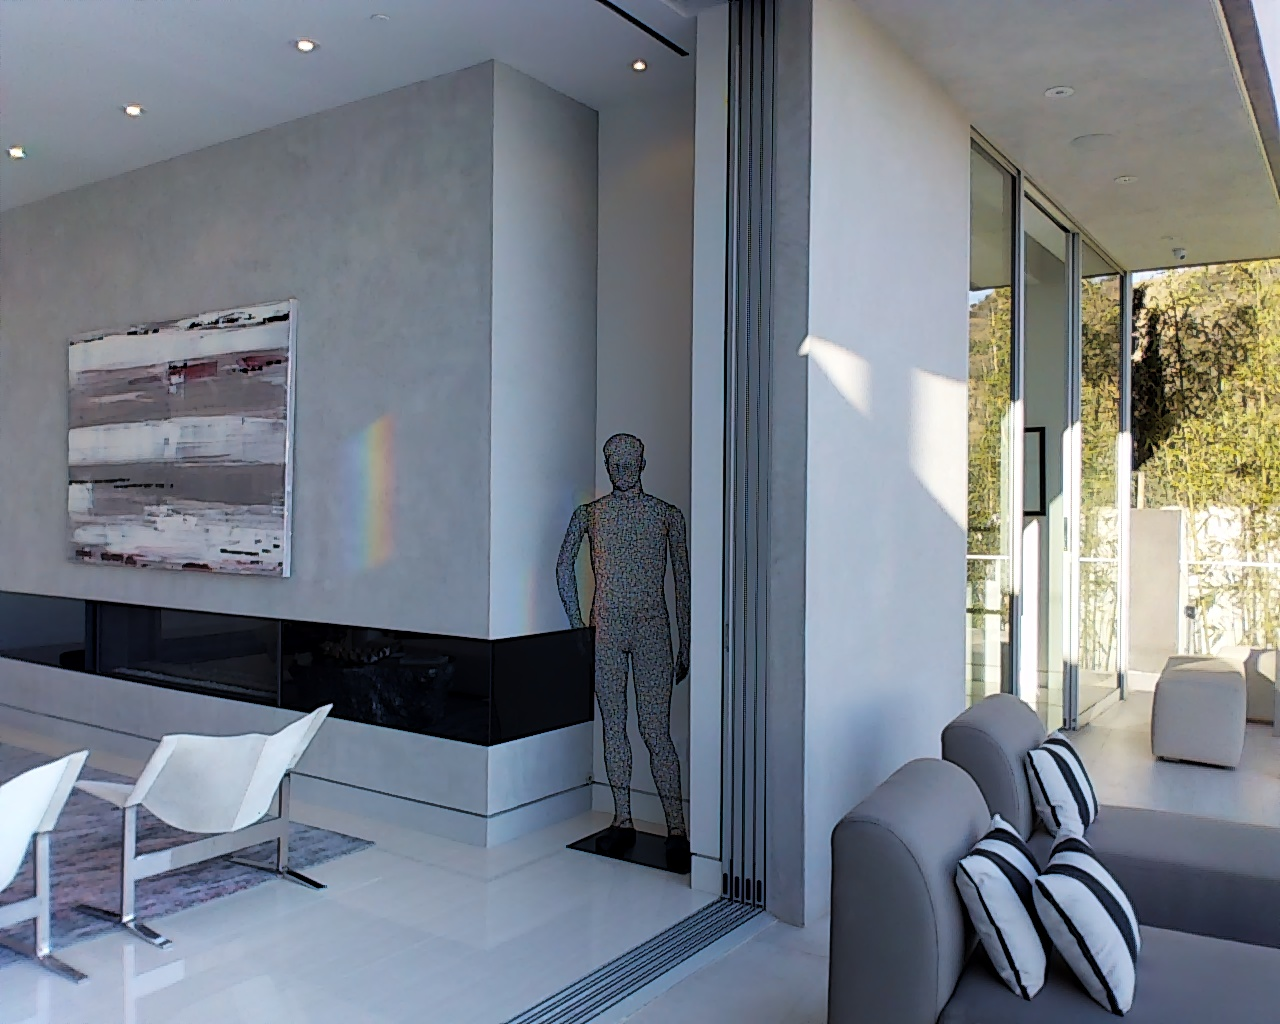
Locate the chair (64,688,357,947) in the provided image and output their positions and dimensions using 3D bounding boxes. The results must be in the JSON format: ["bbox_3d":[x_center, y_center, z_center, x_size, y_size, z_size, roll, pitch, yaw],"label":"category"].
[{"bbox_3d":[-1.600,1.090,4.060,0.700,0.680,0.760,1,1,33],"label":"chair"}]

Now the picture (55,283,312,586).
[{"bbox_3d":[-2.610,-0.390,5.990,2.290,1.490,0.110,1,1,35],"label":"picture"}]
